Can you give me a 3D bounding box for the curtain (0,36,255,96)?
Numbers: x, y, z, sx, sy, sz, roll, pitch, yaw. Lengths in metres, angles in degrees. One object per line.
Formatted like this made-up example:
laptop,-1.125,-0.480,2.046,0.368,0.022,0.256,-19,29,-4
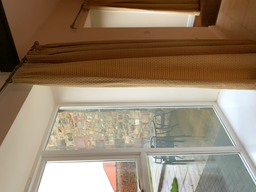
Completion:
curtain,0.170,-0.360,2.240,0.880,2.610,0.210,-95,6,-53
